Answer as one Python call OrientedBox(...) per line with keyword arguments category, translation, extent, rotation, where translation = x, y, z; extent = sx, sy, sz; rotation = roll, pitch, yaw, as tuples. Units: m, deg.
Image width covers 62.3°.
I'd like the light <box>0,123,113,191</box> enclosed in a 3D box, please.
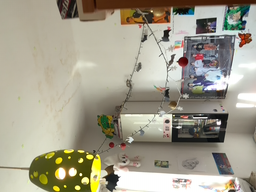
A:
OrientedBox(category="light", translation=(-0.450, 0.260, 0.840), extent=(0.740, 0.210, 0.210), rotation=(2, -52, 6))
